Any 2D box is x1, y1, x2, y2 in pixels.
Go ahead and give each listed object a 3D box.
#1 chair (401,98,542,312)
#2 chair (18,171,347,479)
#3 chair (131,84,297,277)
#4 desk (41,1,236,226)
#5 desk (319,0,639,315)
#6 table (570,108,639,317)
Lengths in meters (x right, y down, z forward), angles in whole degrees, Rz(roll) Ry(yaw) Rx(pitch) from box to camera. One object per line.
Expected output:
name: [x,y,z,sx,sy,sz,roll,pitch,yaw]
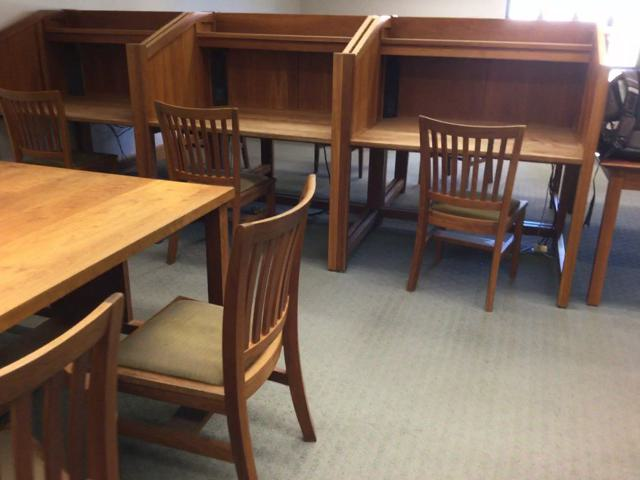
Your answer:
chair: [0.780,-0.210,2.950,0.600,0.930,0.600,3,20,20]
chair: [-0.320,0.310,1.690,0.620,0.910,0.560,3,20,20]
chair: [-0.560,-0.370,3.310,0.590,0.940,0.650,3,20,20]
desk: [-1.070,-0.780,3.590,0.760,1.220,0.620,3,20,20]
desk: [0.850,-0.550,3.190,1.330,1.450,1.110,3,20,20]
table: [1.890,-0.210,3.020,0.960,0.800,1.250,3,20,20]
